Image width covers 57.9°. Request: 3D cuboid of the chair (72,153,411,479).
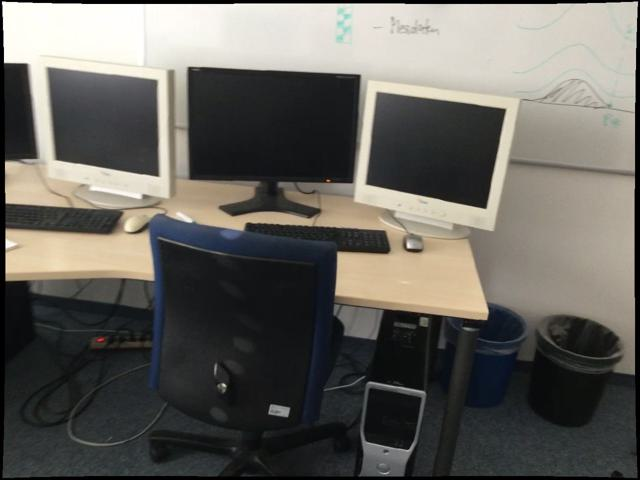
[{"bbox_3d":[-0.190,0.310,1.650,0.659,0.911,0.570,13,25,18],"label":"chair"}]
